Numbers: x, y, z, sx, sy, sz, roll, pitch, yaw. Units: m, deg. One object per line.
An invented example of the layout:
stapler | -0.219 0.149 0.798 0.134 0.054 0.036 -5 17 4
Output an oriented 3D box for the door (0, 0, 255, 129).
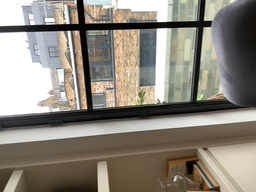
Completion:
door | 0.140 -0.390 1.270 0.050 2.310 1.120 -113 21 -67
